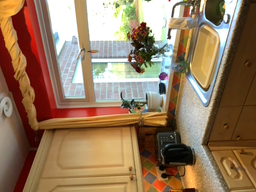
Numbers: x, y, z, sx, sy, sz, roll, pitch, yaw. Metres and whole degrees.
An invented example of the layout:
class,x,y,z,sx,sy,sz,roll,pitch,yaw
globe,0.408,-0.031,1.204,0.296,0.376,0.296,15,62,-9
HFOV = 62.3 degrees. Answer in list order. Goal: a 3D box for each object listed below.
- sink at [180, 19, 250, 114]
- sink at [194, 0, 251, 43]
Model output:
class,x,y,z,sx,sy,sz,roll,pitch,yaw
sink,0.550,-0.230,1.480,0.530,0.160,0.470,-98,8,-56
sink,0.540,-0.480,1.270,0.390,0.120,0.190,-98,8,-56
